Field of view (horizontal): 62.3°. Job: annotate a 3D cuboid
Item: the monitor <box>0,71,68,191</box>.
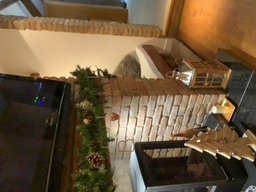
[{"bbox_3d":[-0.710,0.100,1.200,0.950,0.640,0.050,-107,28,-57],"label":"monitor"}]
